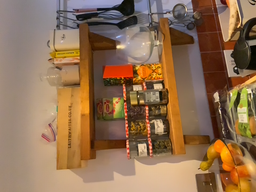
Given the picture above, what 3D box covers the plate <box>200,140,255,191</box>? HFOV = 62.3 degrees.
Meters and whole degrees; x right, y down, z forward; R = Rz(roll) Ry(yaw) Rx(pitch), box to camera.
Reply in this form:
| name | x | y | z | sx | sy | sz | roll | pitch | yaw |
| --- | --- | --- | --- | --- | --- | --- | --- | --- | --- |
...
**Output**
| name | x | y | z | sx | sy | sz | roll | pitch | yaw |
| --- | --- | --- | --- | --- | --- | --- | --- | --- | --- |
| plate | 0.390 | 0.300 | 0.800 | 0.250 | 0.120 | 0.250 | 89 | 178 | -76 |
